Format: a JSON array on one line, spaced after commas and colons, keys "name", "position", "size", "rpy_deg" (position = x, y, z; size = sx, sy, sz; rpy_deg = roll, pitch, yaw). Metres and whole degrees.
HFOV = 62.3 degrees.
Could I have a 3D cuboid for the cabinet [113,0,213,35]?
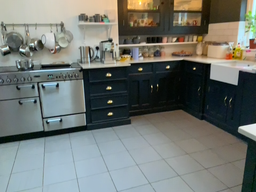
[{"name": "cabinet", "position": [0.620, -1.640, 3.660], "size": [1.720, 1.110, 0.340], "rpy_deg": [-5, 17, -16]}]
